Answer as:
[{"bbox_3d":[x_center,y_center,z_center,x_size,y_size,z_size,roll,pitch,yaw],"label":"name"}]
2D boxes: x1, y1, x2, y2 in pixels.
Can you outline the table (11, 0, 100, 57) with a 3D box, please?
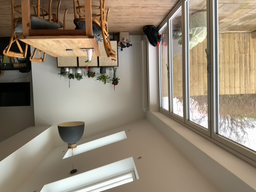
[{"bbox_3d":[-0.950,-1.100,3.230,0.870,0.780,1.550,-2,-176,-3],"label":"table"}]
